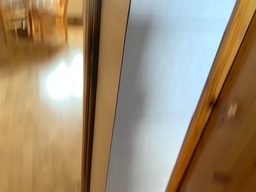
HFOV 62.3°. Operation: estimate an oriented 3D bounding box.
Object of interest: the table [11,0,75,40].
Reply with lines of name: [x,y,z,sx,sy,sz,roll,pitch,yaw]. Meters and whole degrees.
table: [-1.420,-1.550,3.740,0.930,0.770,0.940,-1,35,-15]
